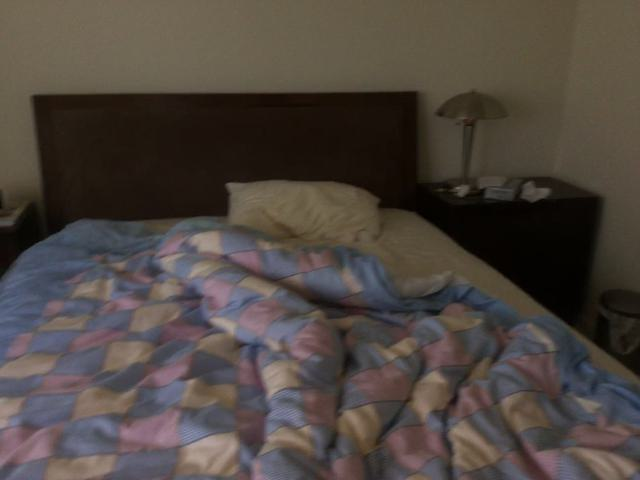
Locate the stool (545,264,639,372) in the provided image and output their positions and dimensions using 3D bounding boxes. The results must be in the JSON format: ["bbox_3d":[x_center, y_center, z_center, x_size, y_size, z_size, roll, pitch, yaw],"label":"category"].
[{"bbox_3d":[1.180,0.310,2.410,0.270,0.290,0.360,-5,19,-12],"label":"stool"}]

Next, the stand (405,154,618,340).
[{"bbox_3d":[0.850,0.010,2.680,0.770,0.730,0.390,-3,19,-13],"label":"stand"}]
